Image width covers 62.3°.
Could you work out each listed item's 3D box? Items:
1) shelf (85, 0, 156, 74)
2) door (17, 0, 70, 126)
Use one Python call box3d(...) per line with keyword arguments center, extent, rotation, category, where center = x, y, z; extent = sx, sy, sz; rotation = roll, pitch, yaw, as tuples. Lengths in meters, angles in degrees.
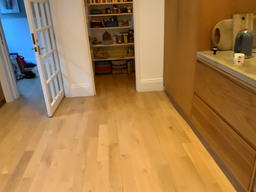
box3d(center=(-0.120, -1.430, 4.600), extent=(1.410, 1.790, 0.350), rotation=(-4, 23, -1), category="shelf")
box3d(center=(-1.120, -0.750, 2.870), extent=(0.140, 2.180, 0.830), rotation=(-3, 23, 0), category="door")
